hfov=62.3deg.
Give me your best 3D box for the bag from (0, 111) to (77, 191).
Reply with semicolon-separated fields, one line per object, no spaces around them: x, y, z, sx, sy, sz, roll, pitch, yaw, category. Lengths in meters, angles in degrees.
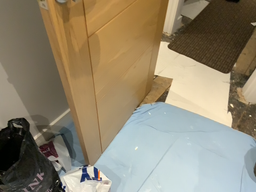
-0.470;0.360;0.920;0.280;0.390;0.340;33;56;21;bag
